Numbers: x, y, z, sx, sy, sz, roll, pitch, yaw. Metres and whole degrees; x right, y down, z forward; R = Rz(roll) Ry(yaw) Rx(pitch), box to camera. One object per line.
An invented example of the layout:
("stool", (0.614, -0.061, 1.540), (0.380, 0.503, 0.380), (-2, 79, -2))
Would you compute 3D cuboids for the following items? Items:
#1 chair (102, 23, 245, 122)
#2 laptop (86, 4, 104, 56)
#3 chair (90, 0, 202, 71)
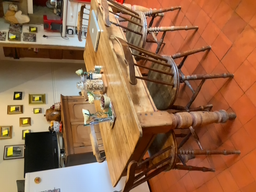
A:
("chair", (0.280, -0.160, 1.540), (0.470, 0.790, 0.440), (112, 147, -45))
("laptop", (-0.320, -0.620, 1.990), (0.290, 0.060, 0.400), (112, 148, -45))
("chair", (0.120, -0.550, 1.890), (0.470, 0.790, 0.440), (112, 147, -45))
